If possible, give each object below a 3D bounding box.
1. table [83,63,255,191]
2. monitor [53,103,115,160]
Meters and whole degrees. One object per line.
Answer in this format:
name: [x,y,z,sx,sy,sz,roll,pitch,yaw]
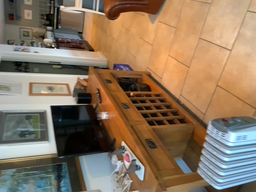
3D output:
table: [0.160,0.260,2.130,1.830,0.820,0.510,-128,43,-53]
monitor: [-0.440,0.280,1.950,0.730,0.420,0.050,-128,43,-53]
